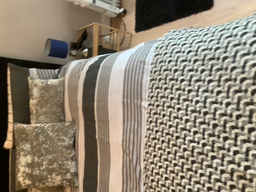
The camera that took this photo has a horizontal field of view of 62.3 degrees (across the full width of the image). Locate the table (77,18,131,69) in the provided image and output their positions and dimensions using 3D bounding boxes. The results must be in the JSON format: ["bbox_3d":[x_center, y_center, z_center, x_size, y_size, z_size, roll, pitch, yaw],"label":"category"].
[{"bbox_3d":[-0.250,-0.510,2.190,0.380,0.410,0.380,1,89,50],"label":"table"}]

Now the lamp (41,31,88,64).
[{"bbox_3d":[-0.580,-0.430,1.940,0.270,0.320,0.210,3,90,50],"label":"lamp"}]
